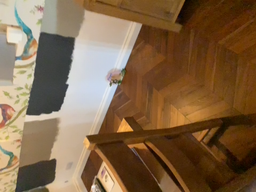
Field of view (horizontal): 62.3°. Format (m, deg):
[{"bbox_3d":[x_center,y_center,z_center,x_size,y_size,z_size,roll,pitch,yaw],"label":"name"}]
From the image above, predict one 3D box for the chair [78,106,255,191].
[{"bbox_3d":[0.350,0.420,1.180,0.430,1.060,0.500,49,127,36],"label":"chair"}]
